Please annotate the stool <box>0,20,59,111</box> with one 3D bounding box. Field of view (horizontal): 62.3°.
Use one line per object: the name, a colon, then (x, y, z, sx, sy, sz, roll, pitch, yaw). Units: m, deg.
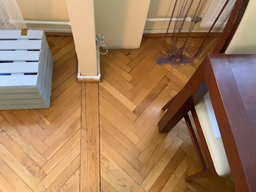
stool: (-0.760, -0.180, 1.300, 0.580, 0.310, 0.450, -3, 65, -8)
